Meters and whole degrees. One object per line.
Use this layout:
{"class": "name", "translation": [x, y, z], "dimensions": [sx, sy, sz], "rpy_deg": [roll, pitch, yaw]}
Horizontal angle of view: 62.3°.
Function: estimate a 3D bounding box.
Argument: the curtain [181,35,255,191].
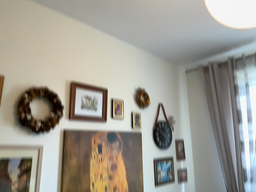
{"class": "curtain", "translation": [1.150, 0.860, 2.460], "dimensions": [0.130, 3.020, 0.900], "rpy_deg": [11, -17, -43]}
